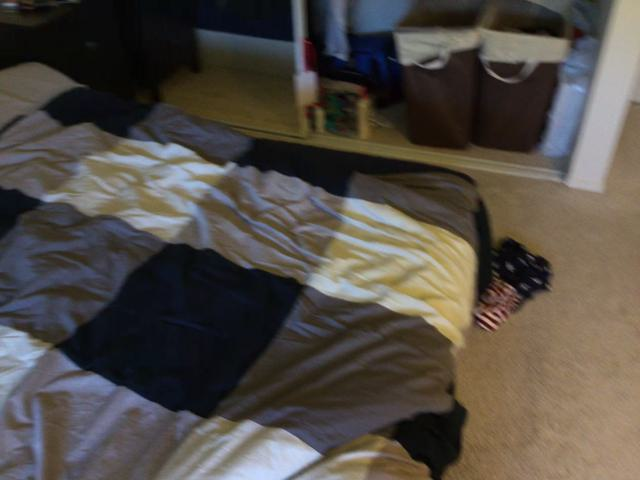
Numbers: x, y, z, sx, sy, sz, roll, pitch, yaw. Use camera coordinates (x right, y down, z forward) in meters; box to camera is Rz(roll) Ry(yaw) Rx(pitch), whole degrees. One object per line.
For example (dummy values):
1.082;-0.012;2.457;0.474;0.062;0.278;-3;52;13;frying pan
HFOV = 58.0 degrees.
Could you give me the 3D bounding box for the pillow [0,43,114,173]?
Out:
-1.130;-0.430;1.970;0.400;0.160;0.810;11;41;16;pillow
